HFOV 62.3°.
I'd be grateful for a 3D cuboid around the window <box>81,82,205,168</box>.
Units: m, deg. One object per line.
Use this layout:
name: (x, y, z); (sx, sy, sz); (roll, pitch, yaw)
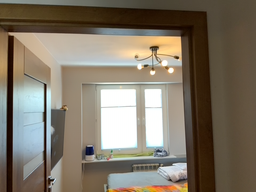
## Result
window: (0.310, 0.530, 4.190); (2.400, 1.590, 0.180); (-1, -3, -6)
